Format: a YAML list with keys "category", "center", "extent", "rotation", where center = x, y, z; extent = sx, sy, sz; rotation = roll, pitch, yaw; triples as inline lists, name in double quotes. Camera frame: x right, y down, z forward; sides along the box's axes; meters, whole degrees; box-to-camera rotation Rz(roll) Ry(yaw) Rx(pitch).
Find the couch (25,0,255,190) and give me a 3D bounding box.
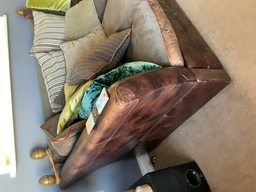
- category: "couch"
  center: [-0.260, -0.570, 1.700]
  extent: [1.060, 0.780, 2.100]
  rotation: [-54, 48, 44]
